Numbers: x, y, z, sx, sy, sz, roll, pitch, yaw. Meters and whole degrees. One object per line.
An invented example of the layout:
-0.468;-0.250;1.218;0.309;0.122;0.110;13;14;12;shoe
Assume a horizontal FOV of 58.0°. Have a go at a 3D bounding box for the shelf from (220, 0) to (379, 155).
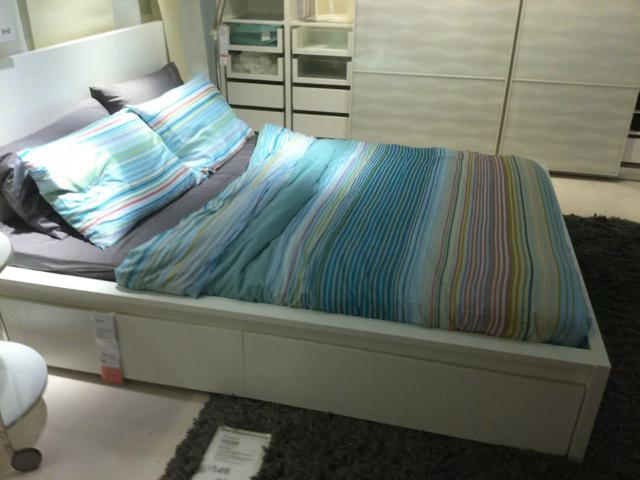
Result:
-0.120;-1.750;3.780;0.960;2.240;0.480;11;35;13;shelf
